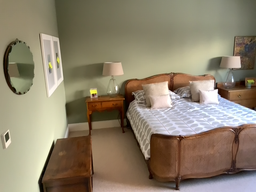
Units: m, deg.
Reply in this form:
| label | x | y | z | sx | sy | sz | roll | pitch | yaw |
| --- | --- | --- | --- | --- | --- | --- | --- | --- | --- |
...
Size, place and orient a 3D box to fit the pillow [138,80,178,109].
| label | x | y | z | sx | sy | sz | roll | pitch | yaw |
| --- | --- | --- | --- | --- | --- | --- | --- | --- | --- |
| pillow | 0.510 | -0.050 | 3.830 | 0.570 | 0.350 | 0.620 | -3 | 14 | -6 |

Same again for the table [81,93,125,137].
| label | x | y | z | sx | sy | sz | roll | pitch | yaw |
| --- | --- | --- | --- | --- | --- | --- | --- | --- | --- |
| table | -0.480 | 0.350 | 4.080 | 0.760 | 0.690 | 0.380 | -4 | 15 | -11 |

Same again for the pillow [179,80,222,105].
| label | x | y | z | sx | sy | sz | roll | pitch | yaw |
| --- | --- | --- | --- | --- | --- | --- | --- | --- | --- |
| pillow | 1.340 | -0.080 | 4.010 | 0.480 | 0.290 | 0.720 | -3 | 14 | -7 |
